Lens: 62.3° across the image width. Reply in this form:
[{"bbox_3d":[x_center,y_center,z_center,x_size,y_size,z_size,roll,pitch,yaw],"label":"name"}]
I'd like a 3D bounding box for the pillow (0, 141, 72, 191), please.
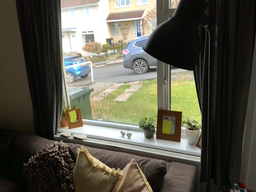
[{"bbox_3d":[-0.780,0.660,1.770,0.500,0.420,0.170,-27,3,34],"label":"pillow"}]
